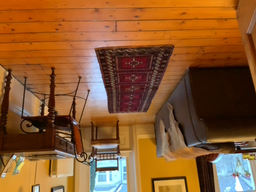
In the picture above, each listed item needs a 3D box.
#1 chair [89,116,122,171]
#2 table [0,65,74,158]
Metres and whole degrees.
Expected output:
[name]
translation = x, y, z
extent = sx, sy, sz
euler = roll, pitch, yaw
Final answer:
[chair]
translation = -0.480, 1.010, 4.480
extent = 0.620, 1.040, 0.660
euler = -2, 162, -4
[table]
translation = -1.000, 0.270, 2.420
extent = 0.510, 0.770, 1.190
euler = -2, 162, -4
